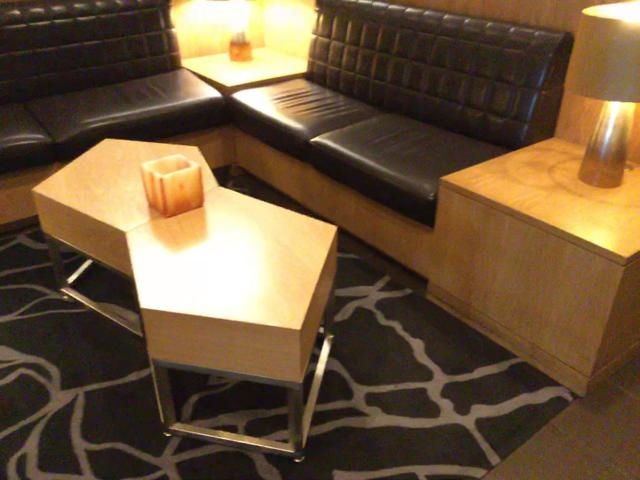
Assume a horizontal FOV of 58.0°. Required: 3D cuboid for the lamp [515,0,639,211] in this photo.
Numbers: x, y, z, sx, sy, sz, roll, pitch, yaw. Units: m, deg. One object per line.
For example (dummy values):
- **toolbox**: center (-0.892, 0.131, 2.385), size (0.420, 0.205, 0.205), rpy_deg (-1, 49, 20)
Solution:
- **lamp**: center (0.990, -0.470, 1.800), size (0.460, 0.550, 0.460), rpy_deg (-21, 36, -33)
